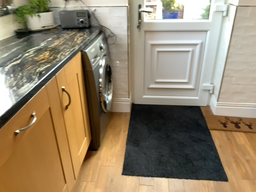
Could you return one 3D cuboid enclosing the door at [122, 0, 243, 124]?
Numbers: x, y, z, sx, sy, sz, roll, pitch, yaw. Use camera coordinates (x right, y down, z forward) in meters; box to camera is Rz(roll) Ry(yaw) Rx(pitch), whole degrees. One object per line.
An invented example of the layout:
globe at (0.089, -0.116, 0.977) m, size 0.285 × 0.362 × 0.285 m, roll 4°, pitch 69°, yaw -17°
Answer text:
door at (0.440, -0.810, 1.820) m, size 0.960 × 2.360 × 0.210 m, roll 3°, pitch 29°, yaw 5°
